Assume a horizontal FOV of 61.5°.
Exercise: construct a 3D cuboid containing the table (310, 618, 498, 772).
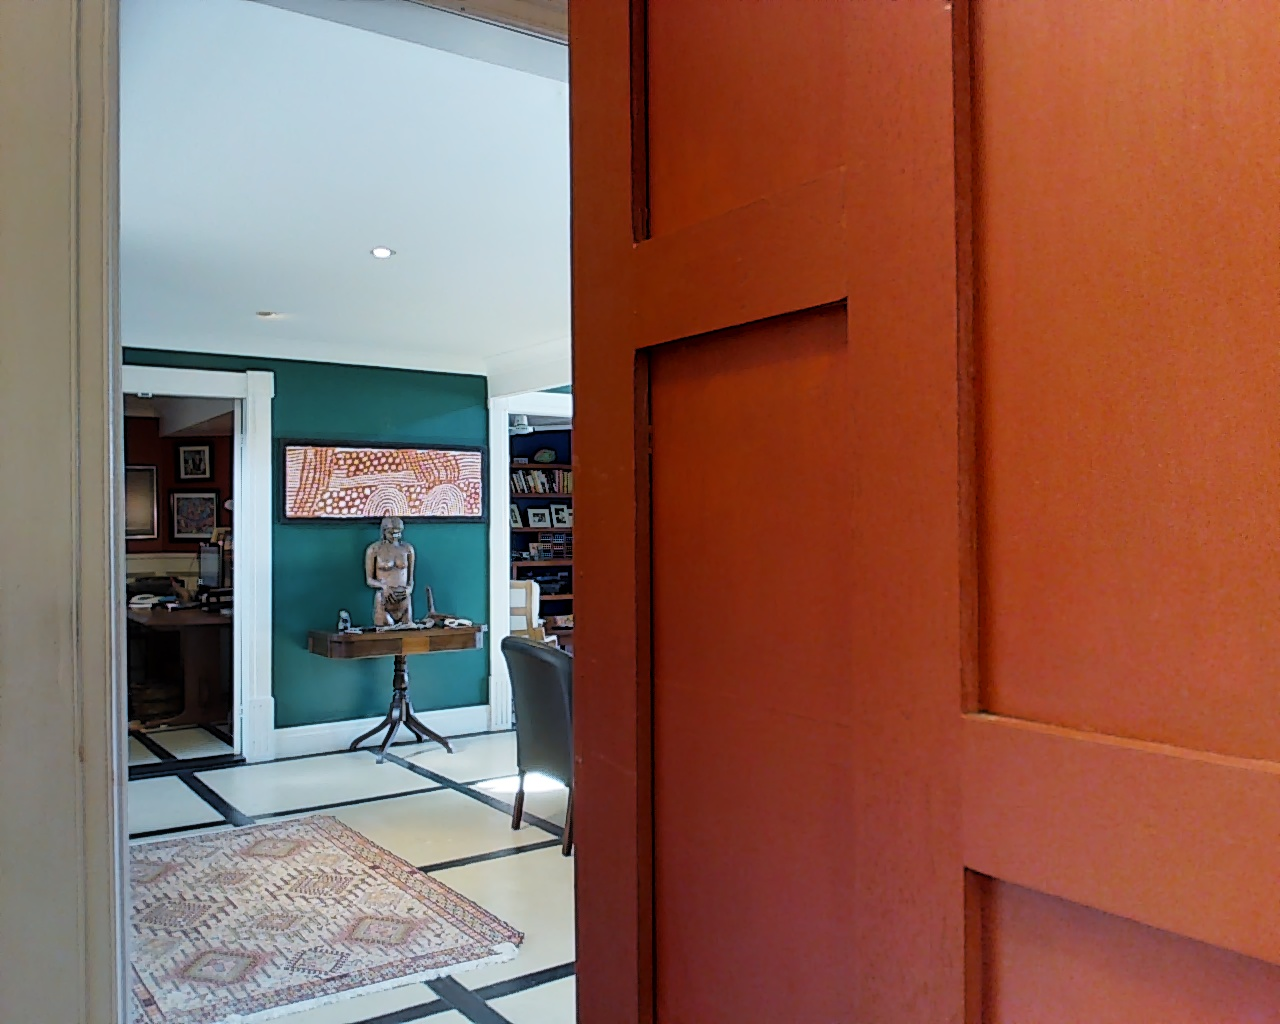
[{"bbox_3d":[-1.370,1.030,6.270,0.960,0.750,0.490,0,-1,-35],"label":"table"}]
